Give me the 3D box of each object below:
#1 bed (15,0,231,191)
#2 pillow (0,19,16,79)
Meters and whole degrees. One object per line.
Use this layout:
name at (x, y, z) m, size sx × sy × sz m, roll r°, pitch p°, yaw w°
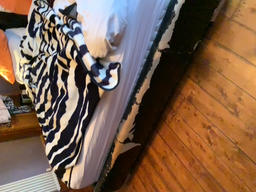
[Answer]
bed at (-0.560, -0.530, 2.120) m, size 2.290 × 0.700 × 1.950 m, roll 54°, pitch 136°, yaw 37°
pillow at (-1.620, -0.580, 2.640) m, size 0.390 × 0.330 × 0.620 m, roll 53°, pitch 135°, yaw 36°
